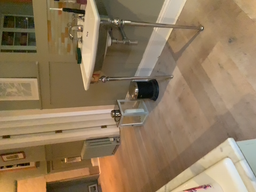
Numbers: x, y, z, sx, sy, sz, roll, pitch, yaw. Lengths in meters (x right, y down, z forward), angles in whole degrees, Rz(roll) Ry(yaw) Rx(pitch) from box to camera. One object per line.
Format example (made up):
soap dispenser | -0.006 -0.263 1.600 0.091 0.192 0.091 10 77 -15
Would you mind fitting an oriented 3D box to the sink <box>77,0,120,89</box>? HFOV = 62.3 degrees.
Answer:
sink | -0.260 -0.440 1.630 0.630 0.150 0.480 114 146 -49
